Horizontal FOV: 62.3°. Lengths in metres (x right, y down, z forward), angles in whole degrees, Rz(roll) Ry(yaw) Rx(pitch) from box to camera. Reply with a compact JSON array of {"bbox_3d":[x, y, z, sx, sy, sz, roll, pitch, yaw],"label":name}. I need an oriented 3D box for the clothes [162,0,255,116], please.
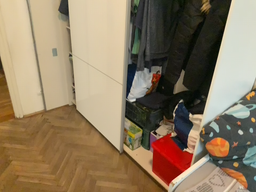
[{"bbox_3d":[0.590,-0.340,1.320,0.570,0.720,0.350,-16,34,-31],"label":"clothes"}]
